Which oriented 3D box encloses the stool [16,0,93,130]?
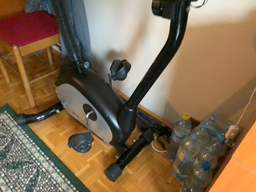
[{"bbox_3d":[-0.370,-0.230,1.160,0.250,0.900,0.210,29,46,25],"label":"stool"}]
